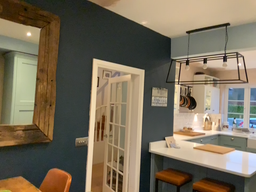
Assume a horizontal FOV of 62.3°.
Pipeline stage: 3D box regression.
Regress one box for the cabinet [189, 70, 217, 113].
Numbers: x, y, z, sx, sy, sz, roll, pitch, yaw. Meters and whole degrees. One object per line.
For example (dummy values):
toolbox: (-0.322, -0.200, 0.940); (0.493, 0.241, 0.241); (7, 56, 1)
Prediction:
cabinet: (2.100, -0.100, 5.880); (0.340, 1.080, 1.030); (2, -2, 42)
